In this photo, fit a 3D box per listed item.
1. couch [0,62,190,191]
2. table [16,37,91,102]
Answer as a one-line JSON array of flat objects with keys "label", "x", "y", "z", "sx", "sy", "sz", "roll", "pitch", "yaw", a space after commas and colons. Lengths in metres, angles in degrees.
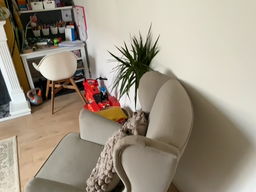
[{"label": "couch", "x": -0.140, "y": 0.400, "z": 1.440, "sx": 0.990, "sy": 0.990, "sz": 0.790, "roll": 5, "pitch": 30, "yaw": 14}, {"label": "table", "x": -1.160, "y": -0.460, "z": 3.380, "sx": 0.930, "sy": 0.730, "sz": 0.530, "roll": -16, "pitch": 31, "yaw": -23}]
